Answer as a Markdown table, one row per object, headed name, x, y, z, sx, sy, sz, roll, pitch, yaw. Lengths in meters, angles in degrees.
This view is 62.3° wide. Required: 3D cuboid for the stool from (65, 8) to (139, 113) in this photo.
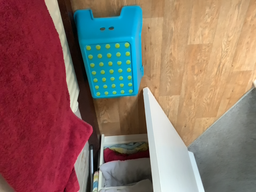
| name | x | y | z | sx | sy | sz | roll | pitch | yaw |
| --- | --- | --- | --- | --- | --- | --- | --- | --- | --- |
| stool | -0.100 | -0.170 | 1.100 | 0.290 | 0.240 | 0.460 | -3 | 130 | 1 |
